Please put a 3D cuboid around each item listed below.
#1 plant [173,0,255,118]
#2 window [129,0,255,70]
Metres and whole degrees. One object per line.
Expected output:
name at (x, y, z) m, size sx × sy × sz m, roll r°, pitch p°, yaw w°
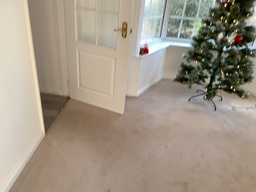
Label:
plant at (1.290, -0.790, 2.720) m, size 1.040 × 1.770 × 0.920 m, roll 10°, pitch 31°, yaw 6°
window at (1.330, -1.200, 2.730) m, size 2.380 × 1.340 × 1.000 m, roll 9°, pitch 30°, yaw 5°
